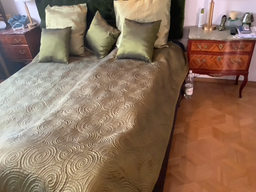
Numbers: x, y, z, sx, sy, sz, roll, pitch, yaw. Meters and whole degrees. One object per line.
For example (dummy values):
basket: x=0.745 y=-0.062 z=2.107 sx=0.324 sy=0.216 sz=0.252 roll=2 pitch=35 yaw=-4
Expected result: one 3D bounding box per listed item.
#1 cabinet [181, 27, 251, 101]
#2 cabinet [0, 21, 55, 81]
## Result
cabinet: x=0.900 y=-0.350 z=2.280 sx=0.560 sy=0.670 sz=0.360 roll=6 pitch=38 yaw=17
cabinet: x=-1.440 y=-0.630 z=2.940 sx=0.510 sy=0.690 sz=0.390 roll=6 pitch=37 yaw=17
